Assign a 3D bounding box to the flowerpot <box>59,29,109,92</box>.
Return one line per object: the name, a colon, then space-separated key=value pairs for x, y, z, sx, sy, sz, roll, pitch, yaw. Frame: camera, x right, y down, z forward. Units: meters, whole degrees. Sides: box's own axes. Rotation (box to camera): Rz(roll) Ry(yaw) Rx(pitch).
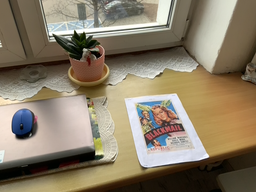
flowerpot: x=-0.180 y=-0.150 z=0.870 sx=0.170 sy=0.170 sz=0.180 roll=-8 pitch=43 yaw=-13
